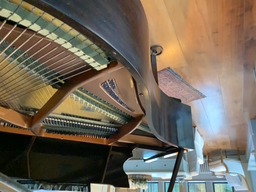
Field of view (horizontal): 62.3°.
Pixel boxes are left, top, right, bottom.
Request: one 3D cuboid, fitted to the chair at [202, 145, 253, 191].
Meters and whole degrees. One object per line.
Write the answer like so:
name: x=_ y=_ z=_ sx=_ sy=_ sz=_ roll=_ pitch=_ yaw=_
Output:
chair: x=2.410 y=1.800 z=5.250 sx=0.760 sy=0.950 sz=0.720 roll=6 pitch=154 yaw=-7
